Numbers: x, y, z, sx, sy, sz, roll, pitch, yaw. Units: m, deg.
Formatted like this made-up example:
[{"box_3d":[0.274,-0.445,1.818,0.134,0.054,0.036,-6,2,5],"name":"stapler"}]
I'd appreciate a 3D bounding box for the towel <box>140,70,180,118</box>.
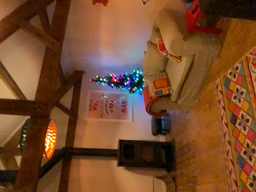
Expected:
[{"box_3d":[0.500,-0.020,3.520,0.600,0.460,0.470,102,169,-45],"name":"towel"}]
